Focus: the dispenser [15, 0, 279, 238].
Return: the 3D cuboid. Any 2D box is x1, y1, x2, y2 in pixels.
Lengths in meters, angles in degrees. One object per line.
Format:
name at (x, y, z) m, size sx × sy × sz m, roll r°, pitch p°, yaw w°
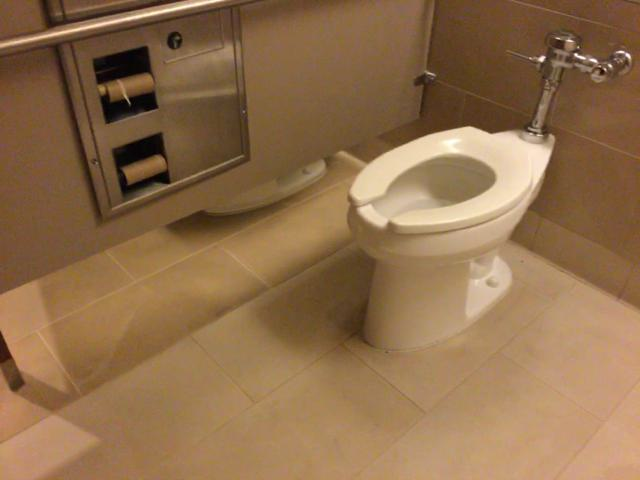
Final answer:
dispenser at (-0.350, -0.450, 1.270) m, size 0.520 × 0.790 × 0.110 m, roll -27°, pitch 44°, yaw -32°
